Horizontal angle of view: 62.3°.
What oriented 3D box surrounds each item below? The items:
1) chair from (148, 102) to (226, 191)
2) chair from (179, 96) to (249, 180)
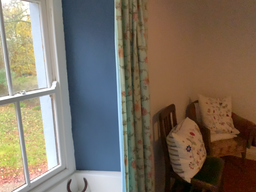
[{"bbox_3d":[0.550,0.580,1.930,0.540,0.890,0.600,5,13,27],"label":"chair"},{"bbox_3d":[1.070,0.460,2.640,0.710,0.770,0.570,5,14,29],"label":"chair"}]
